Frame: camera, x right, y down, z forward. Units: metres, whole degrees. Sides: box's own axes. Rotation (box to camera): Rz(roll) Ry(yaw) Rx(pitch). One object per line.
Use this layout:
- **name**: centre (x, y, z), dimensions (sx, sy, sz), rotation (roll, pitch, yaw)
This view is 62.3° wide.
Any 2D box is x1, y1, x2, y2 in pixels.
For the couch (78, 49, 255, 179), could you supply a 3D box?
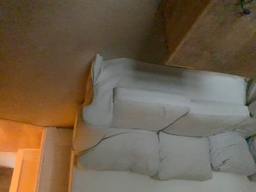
- **couch**: centre (0.290, 0.290, 2.070), dimensions (1.370, 0.860, 0.920), rotation (6, 151, -17)
